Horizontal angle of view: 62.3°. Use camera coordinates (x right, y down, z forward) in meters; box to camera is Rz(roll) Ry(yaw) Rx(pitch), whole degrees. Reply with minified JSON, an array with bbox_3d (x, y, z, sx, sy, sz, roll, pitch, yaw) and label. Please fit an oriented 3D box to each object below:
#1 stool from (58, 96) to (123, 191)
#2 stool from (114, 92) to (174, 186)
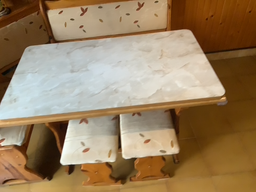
[{"bbox_3d":[-0.220,0.330,1.440,0.310,0.470,0.420,-6,46,-1],"label":"stool"},{"bbox_3d":[0.090,0.300,1.450,0.310,0.470,0.420,-5,46,-1],"label":"stool"}]
